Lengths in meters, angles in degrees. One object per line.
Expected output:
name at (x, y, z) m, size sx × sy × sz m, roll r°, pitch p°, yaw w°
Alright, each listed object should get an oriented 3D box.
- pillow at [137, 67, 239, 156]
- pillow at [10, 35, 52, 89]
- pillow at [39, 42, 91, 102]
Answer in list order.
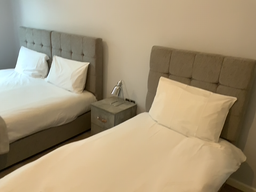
pillow at (0.490, 0.110, 1.910) m, size 0.760 × 0.460 × 0.180 m, roll 30°, pitch 30°, yaw 28°
pillow at (-1.560, -0.550, 3.370) m, size 0.780 × 0.460 × 0.180 m, roll 43°, pitch 36°, yaw 20°
pillow at (-0.880, -0.340, 2.890) m, size 0.760 × 0.420 × 0.190 m, roll 43°, pitch 36°, yaw 20°
